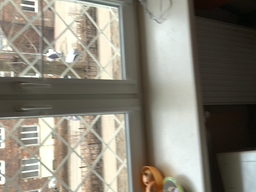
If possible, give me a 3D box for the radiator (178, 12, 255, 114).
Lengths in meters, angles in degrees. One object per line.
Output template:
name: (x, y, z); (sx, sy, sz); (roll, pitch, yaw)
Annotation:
radiator: (0.620, -0.180, 1.320); (0.140, 0.600, 0.550); (163, 105, -64)
